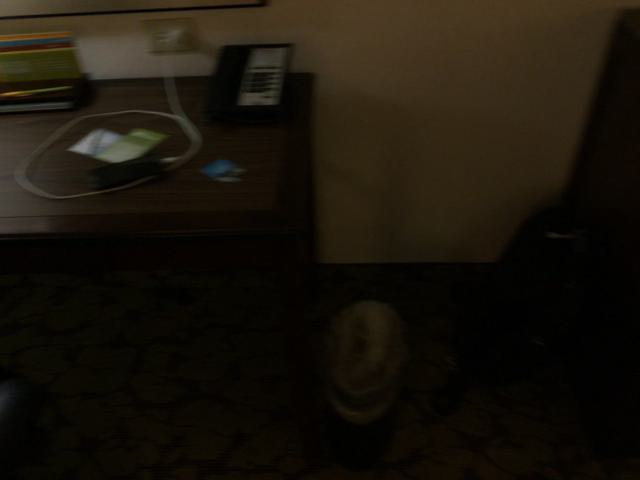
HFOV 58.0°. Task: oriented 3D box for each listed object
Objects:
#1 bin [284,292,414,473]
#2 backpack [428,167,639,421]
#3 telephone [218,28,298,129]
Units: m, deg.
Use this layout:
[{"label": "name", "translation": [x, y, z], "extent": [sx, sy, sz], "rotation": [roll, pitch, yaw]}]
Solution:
[{"label": "bin", "translation": [0.070, 0.350, 1.420], "extent": [0.270, 0.320, 0.290], "rotation": [-3, 41, 2]}, {"label": "backpack", "translation": [0.510, 0.140, 1.540], "extent": [0.350, 0.460, 0.470], "rotation": [-3, 41, 2]}, {"label": "telephone", "translation": [-0.130, -0.360, 1.270], "extent": [0.150, 0.110, 0.240], "rotation": [-5, 41, 0]}]
